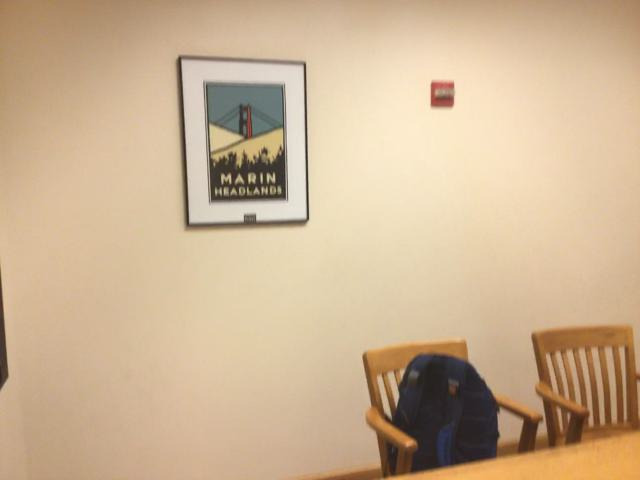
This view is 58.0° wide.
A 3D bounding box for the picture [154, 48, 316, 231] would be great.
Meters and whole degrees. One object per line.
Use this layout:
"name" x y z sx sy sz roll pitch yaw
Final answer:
"picture" -0.350 -0.430 2.480 0.650 0.750 0.030 -4 7 -13
